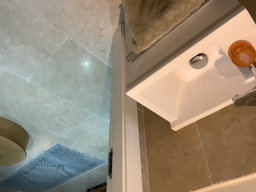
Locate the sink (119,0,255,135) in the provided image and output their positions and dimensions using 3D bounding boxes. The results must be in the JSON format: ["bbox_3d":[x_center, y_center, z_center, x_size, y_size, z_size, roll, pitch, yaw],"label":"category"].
[{"bbox_3d":[0.210,-0.080,0.700,0.260,0.190,0.430,32,129,-33],"label":"sink"}]
